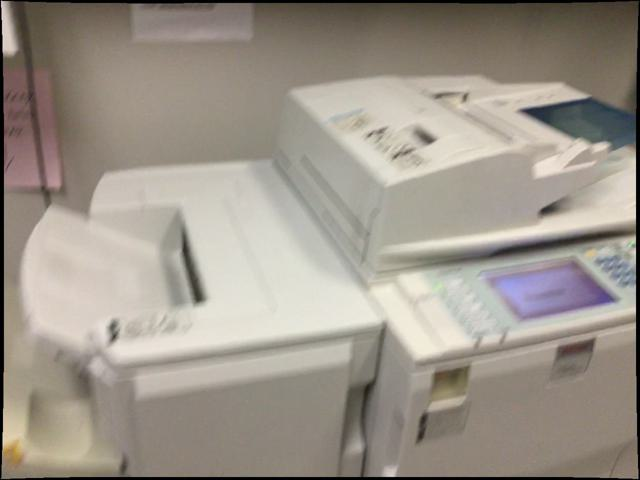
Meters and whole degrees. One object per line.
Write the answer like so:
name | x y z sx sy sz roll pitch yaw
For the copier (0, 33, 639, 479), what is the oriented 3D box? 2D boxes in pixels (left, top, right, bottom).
copier | 0.010 0.281 1.230 1.417 1.142 0.740 -8 34 -13
